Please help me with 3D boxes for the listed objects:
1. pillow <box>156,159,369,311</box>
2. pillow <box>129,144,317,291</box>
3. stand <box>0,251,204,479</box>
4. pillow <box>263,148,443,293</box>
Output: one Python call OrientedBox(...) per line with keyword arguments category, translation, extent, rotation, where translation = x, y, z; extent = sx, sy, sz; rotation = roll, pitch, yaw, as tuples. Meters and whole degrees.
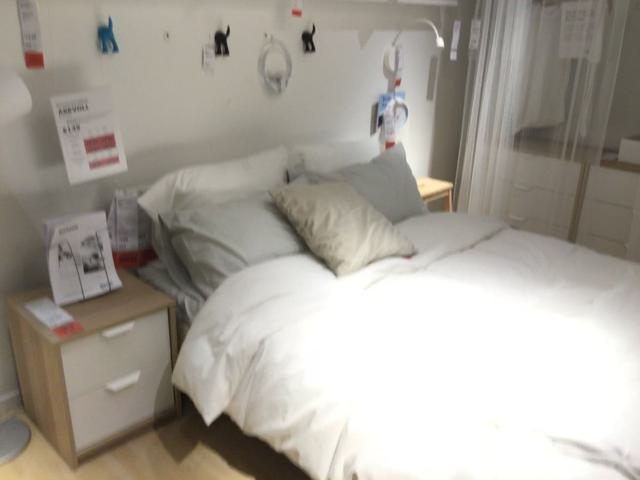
OrientedBox(category="pillow", translation=(-0.200, -0.050, 2.190), extent=(0.690, 0.410, 0.140), rotation=(-20, -23, -39))
OrientedBox(category="pillow", translation=(-0.360, -0.120, 2.350), extent=(0.700, 0.400, 0.250), rotation=(-19, 27, -39))
OrientedBox(category="stand", translation=(-0.770, 0.400, 2.040), extent=(0.490, 0.510, 0.460), rotation=(-19, 27, -39))
OrientedBox(category="pillow", translation=(0.130, -0.100, 2.240), extent=(0.510, 0.460, 0.170), rotation=(-19, -29, -38))
